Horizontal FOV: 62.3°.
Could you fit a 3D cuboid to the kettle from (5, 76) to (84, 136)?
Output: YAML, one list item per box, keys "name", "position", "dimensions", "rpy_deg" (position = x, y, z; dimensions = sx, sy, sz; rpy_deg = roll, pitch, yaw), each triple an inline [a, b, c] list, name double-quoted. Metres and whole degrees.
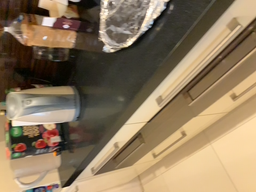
- name: "kettle"
  position: [-0.370, 0.040, 0.930]
  dimensions: [0.180, 0.270, 0.170]
  rpy_deg: [-50, 52, 44]
